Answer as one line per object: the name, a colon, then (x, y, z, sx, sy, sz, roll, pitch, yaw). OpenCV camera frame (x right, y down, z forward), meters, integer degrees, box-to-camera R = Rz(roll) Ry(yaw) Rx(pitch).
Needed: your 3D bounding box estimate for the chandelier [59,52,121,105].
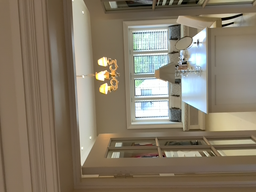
chandelier: (-0.590, -0.320, 3.570, 0.590, 0.870, 0.770, -85, 174, -74)
